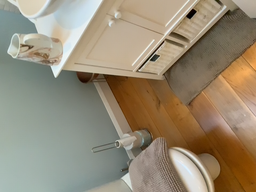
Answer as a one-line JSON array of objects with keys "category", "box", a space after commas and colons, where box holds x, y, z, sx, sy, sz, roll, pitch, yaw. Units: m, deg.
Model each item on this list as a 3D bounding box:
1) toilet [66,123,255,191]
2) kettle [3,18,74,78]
[{"category": "toilet", "box": [0.150, 0.520, 1.130, 0.650, 0.800, 0.390, -46, 61, 34]}, {"category": "kettle", "box": [-0.380, -0.190, 0.900, 0.160, 0.210, 0.150, -46, 61, 34]}]
